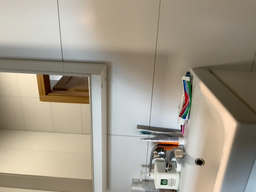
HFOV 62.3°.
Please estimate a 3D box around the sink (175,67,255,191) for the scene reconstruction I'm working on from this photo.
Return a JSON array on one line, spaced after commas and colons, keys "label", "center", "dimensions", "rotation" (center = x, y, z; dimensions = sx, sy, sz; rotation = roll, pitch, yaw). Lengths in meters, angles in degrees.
[{"label": "sink", "center": [0.290, 0.260, 0.680], "dimensions": [0.380, 0.150, 0.620], "rotation": [-81, -6, -67]}]
